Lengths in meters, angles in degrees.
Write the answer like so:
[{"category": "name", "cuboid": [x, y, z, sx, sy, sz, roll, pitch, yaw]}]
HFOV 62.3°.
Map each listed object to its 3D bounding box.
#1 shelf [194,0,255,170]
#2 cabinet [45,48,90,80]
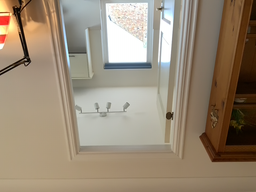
[{"category": "shelf", "cuboid": [1.020, -0.110, 1.230, 1.060, 1.070, 0.310, -1, -156, -1]}, {"category": "cabinet", "cuboid": [-0.990, -0.540, 3.570, 0.630, 0.450, 0.280, -1, -156, -1]}]
